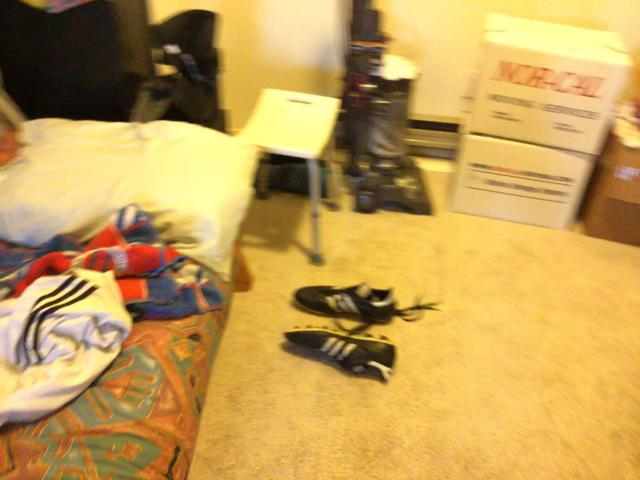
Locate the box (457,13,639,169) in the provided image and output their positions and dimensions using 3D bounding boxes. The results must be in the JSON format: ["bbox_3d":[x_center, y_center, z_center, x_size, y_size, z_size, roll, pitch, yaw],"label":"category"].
[{"bbox_3d":[0.780,-0.540,2.060,0.490,0.400,0.370,7,34,6],"label":"box"}]

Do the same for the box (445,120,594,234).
[{"bbox_3d":[0.730,-0.240,2.190,0.450,0.330,0.200,7,34,6],"label":"box"}]

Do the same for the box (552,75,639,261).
[{"bbox_3d":[1.240,-0.280,2.180,0.480,0.450,0.630,7,34,6],"label":"box"}]

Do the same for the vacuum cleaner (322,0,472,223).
[{"bbox_3d":[0.270,-0.650,2.080,0.430,1.100,0.380,7,34,6],"label":"vacuum cleaner"}]

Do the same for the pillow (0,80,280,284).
[{"bbox_3d":[-0.550,-0.200,1.560,0.770,0.200,0.630,7,34,6],"label":"pillow"}]
